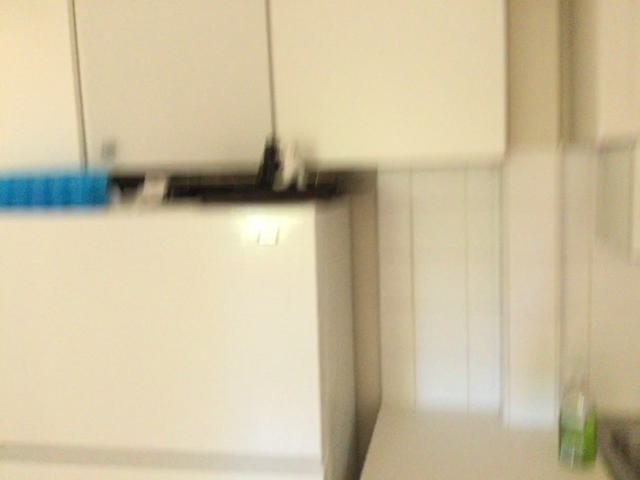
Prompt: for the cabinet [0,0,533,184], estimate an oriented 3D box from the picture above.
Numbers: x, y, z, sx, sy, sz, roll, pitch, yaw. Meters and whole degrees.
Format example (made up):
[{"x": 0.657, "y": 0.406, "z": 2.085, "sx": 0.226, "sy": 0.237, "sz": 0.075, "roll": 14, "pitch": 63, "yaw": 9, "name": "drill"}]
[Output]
[{"x": -0.130, "y": -0.570, "z": 1.210, "sx": 1.010, "sy": 0.800, "sz": 0.470, "roll": -4, "pitch": 4, "yaw": 18, "name": "cabinet"}]
